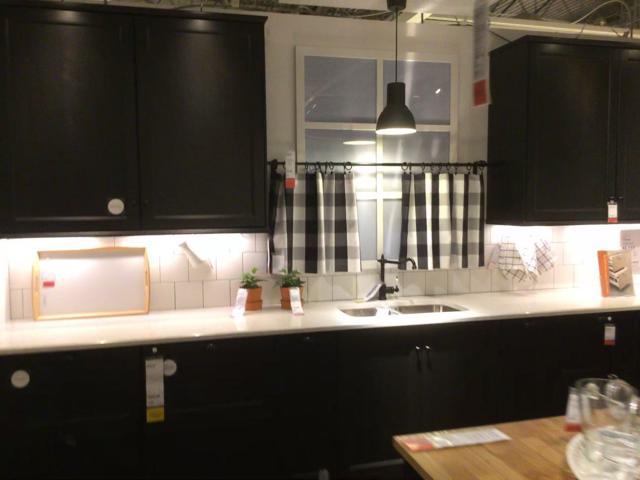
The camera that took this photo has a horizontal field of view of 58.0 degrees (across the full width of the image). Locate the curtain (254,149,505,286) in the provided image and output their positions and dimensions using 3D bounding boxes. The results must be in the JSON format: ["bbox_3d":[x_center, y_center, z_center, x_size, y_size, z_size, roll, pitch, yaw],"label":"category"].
[{"bbox_3d":[0.350,-0.140,3.240,1.400,0.700,0.150,-3,4,-11],"label":"curtain"}]

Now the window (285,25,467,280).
[{"bbox_3d":[0.330,-0.490,3.270,1.000,1.370,0.110,-3,4,-11],"label":"window"}]
